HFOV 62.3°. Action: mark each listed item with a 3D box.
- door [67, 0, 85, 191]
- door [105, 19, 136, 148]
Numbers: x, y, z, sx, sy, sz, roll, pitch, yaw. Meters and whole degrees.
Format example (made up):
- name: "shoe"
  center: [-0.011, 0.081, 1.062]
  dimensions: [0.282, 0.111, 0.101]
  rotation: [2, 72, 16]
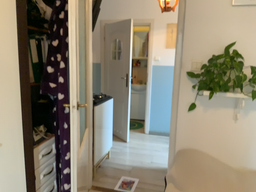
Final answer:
- name: "door"
  center: [-0.390, 0.170, 1.680]
  dimensions: [0.060, 1.880, 0.860]
  rotation: [0, 10, -9]
- name: "door"
  center: [-0.170, -0.220, 3.830]
  dimensions: [0.100, 2.110, 0.820]
  rotation: [-4, 11, -33]
